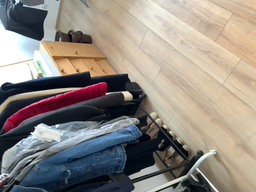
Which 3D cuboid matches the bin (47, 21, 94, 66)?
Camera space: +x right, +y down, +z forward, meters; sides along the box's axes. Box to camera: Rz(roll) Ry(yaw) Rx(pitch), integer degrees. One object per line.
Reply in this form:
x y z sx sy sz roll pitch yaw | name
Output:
-0.800 -0.700 2.910 0.320 0.440 0.460 54 132 31 | bin
